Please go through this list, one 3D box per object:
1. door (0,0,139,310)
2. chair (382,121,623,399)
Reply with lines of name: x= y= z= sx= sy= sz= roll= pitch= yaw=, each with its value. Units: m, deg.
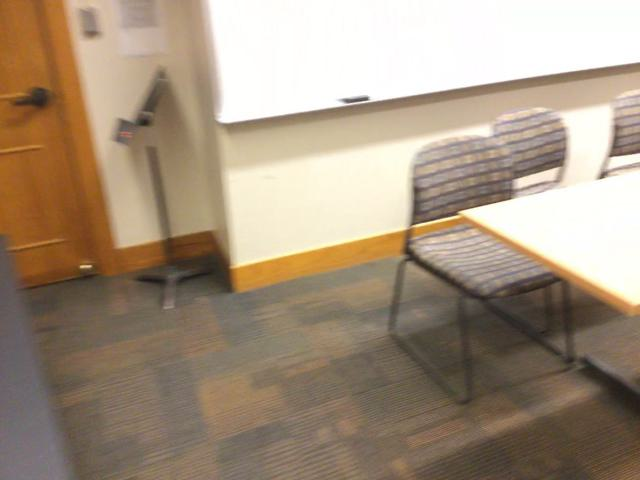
door: x=-1.580 y=-0.350 z=2.520 sx=1.230 sy=1.360 sz=0.280 roll=-13 pitch=24 yaw=-16
chair: x=0.600 y=0.030 z=2.040 sx=0.530 sy=0.730 sz=0.550 roll=-13 pitch=24 yaw=-16
